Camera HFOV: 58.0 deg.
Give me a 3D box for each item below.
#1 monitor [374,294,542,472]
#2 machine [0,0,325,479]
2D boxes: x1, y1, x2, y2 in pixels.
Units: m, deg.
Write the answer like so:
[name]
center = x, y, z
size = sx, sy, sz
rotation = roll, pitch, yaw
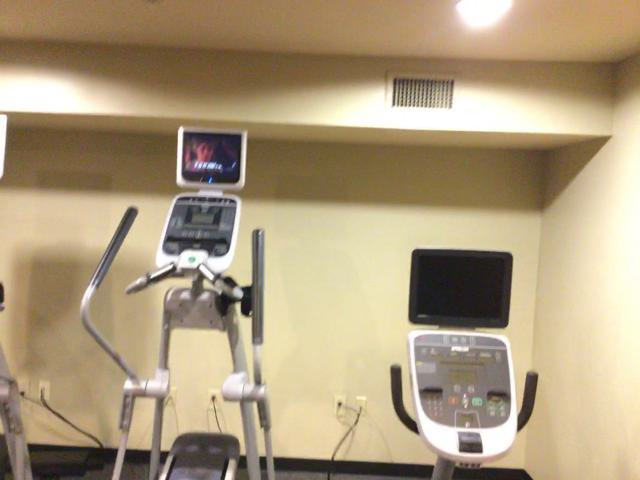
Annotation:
[monitor]
center = 0.470, 0.480, 1.980
size = 0.360, 0.460, 0.080
rotation = 36, -7, 2
[machine]
center = -0.530, 0.490, 1.700
size = 0.920, 1.860, 1.950
rotation = 2, 4, -3
